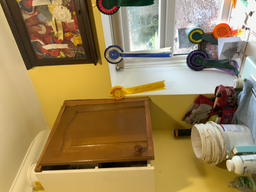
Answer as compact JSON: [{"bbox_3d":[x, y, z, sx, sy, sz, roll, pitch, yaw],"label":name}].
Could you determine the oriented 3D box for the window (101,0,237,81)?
[{"bbox_3d":[0.290,-0.690,1.530,0.080,0.950,1.260,-89,-5,-54],"label":"window"}]
